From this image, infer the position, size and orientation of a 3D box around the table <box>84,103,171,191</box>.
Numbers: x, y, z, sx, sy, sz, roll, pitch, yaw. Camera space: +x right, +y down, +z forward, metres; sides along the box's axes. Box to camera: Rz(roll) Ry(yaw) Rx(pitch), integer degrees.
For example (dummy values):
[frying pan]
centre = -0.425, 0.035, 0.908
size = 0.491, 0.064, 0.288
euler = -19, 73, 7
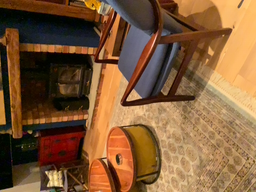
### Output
[table]
centre = -0.120, 0.910, 2.450
size = 0.880, 0.410, 1.380
euler = 49, 134, 49
